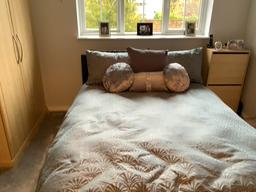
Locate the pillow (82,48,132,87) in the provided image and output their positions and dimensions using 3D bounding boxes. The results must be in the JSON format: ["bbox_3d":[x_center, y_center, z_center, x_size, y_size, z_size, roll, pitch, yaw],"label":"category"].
[{"bbox_3d":[-0.240,-0.330,2.420,0.530,0.400,0.250,0,14,-5],"label":"pillow"}]

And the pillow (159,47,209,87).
[{"bbox_3d":[0.650,-0.350,2.530,0.470,0.420,0.260,0,18,-8],"label":"pillow"}]

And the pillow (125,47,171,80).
[{"bbox_3d":[0.210,-0.360,2.350,0.470,0.330,0.180,-2,20,-8],"label":"pillow"}]
